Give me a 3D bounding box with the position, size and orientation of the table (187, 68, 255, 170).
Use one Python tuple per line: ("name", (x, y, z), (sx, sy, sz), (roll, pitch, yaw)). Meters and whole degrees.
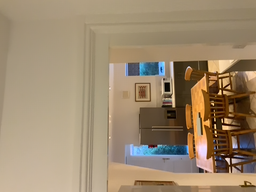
("table", (1.550, 0.410, 3.660), (0.940, 0.750, 1.530), (78, -168, -78))
